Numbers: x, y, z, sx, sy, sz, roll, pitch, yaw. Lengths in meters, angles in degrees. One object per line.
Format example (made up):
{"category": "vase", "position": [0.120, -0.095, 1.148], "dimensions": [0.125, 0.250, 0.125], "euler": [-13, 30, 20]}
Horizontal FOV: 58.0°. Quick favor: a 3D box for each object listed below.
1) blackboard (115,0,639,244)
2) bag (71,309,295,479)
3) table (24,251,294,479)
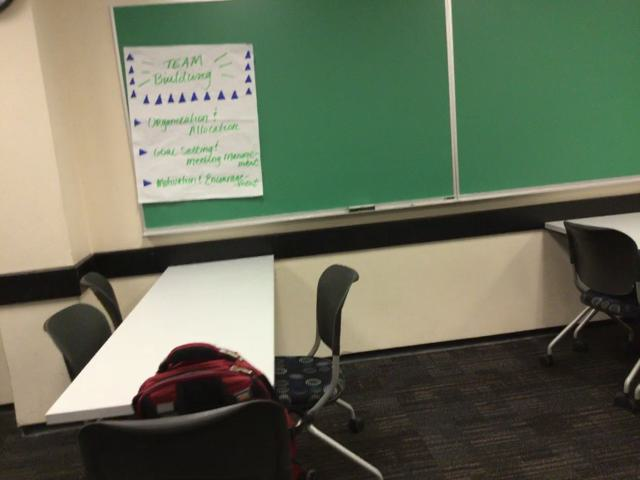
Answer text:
{"category": "blackboard", "position": [0.730, -0.790, 3.200], "dimensions": [3.470, 1.110, 0.190], "euler": [-9, 1, -4]}
{"category": "bag", "position": [-0.300, 0.400, 1.400], "dimensions": [0.410, 0.330, 0.290], "euler": [-12, 7, 1]}
{"category": "table", "position": [-0.470, 0.540, 2.450], "dimensions": [0.660, 0.610, 1.790], "euler": [-5, 10, -2]}
